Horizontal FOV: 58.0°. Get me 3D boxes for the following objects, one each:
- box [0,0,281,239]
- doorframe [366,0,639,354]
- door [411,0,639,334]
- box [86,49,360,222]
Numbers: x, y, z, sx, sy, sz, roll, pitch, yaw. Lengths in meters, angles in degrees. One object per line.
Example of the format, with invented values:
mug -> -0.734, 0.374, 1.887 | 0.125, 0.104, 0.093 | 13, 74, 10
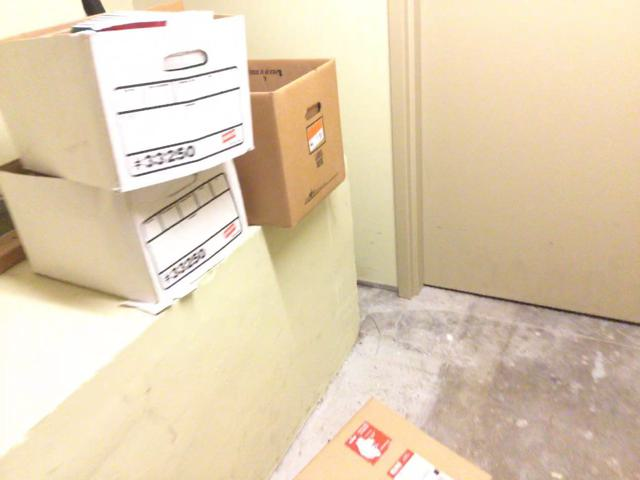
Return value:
box -> -0.410, -0.260, 1.120 | 0.510, 0.320, 0.360 | 8, 33, 28
doorframe -> 0.630, -0.610, 1.550 | 1.010, 2.030, 0.190 | 8, 33, 28
door -> 0.680, -0.660, 1.590 | 0.840, 2.040, 0.170 | 8, 33, 28
box -> -0.230, -0.290, 1.480 | 0.530, 0.290, 0.370 | 8, 33, 28
